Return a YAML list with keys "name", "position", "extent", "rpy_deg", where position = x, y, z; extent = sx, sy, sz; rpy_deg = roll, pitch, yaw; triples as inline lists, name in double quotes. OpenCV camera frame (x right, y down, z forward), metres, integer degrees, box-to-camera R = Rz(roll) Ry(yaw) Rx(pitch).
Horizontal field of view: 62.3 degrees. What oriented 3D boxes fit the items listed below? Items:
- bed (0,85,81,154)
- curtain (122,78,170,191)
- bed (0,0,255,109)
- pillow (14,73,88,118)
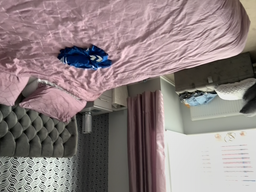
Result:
- name: "bed"
  position: [-1.270, 0.240, 2.130]
  extent: [0.280, 0.620, 1.790]
  rpy_deg: [-14, 159, 35]
- name: "curtain"
  position: [0.230, 0.870, 2.960]
  extent: [0.590, 2.200, 0.240]
  rpy_deg: [-13, 159, 33]
- name: "bed"
  position: [-0.330, -0.530, 1.720]
  extent: [2.380, 0.590, 1.850]
  rpy_deg: [-13, 159, 34]
- name: "pillow"
  position: [-0.840, 0.030, 2.400]
  extent: [0.420, 0.290, 0.650]
  rpy_deg: [-13, 159, 34]
